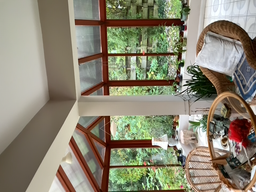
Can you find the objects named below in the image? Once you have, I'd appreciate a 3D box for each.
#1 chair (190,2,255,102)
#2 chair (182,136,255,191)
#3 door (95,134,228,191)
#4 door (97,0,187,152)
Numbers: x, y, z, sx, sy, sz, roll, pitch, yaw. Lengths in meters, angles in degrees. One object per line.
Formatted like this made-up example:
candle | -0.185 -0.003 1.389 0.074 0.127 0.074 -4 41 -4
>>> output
chair | 1.160 -0.410 2.070 0.690 0.810 0.650 93 175 -54
chair | 1.150 0.830 2.490 0.660 0.820 0.640 118 152 -84
door | 0.640 2.170 2.490 6.300 2.270 0.220 -98 8 -70
door | 0.280 -0.770 4.670 0.160 1.820 4.360 -101 10 -74
